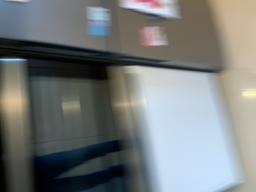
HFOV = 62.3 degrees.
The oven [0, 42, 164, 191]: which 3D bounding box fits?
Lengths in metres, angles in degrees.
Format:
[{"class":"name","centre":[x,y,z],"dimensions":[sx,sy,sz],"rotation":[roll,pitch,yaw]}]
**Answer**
[{"class":"oven","centre":[-0.320,0.210,0.950],"dimensions":[0.630,0.610,0.600],"rotation":[-24,70,53]}]
